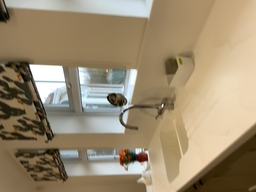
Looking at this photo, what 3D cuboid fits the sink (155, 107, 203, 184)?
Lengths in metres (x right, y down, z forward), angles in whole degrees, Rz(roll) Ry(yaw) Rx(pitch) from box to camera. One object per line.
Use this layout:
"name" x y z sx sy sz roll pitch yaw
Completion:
"sink" 0.380 0.390 1.700 0.320 0.180 0.510 101 167 -52
